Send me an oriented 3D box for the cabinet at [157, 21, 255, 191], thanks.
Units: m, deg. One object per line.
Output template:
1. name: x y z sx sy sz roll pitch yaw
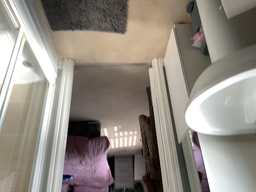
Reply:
1. cabinet: 0.460 0.290 1.220 0.340 1.640 0.380 -1 150 -3
